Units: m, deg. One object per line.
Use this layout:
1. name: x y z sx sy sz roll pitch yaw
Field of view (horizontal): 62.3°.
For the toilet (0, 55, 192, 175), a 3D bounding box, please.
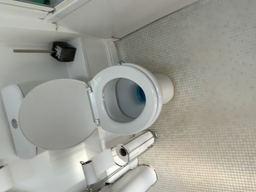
1. toilet: -0.130 0.040 1.140 0.640 0.780 0.370 -9 94 36
